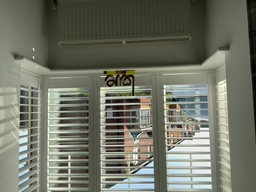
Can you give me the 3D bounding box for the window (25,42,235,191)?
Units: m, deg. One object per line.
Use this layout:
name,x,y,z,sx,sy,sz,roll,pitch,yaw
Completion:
window,-0.020,0.290,1.940,1.730,1.390,0.340,-2,176,6
